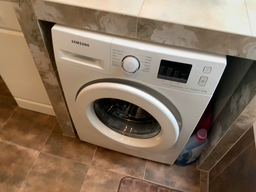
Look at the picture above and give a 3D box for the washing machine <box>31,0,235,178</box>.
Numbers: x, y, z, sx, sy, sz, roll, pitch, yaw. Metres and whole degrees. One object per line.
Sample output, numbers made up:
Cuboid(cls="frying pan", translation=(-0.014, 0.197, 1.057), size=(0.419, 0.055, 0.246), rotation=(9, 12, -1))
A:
Cuboid(cls="washing machine", translation=(0.050, -0.070, 1.140), size=(0.620, 0.850, 0.590), rotation=(13, 52, 7))
